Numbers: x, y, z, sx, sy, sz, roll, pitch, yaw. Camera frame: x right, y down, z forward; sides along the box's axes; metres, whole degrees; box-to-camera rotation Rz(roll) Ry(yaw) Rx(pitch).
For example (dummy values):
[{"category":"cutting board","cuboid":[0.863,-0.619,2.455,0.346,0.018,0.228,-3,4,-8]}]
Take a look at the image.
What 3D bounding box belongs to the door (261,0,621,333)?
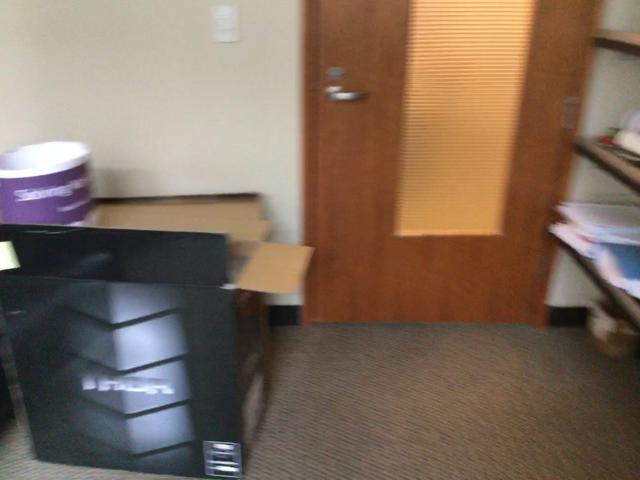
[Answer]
[{"category":"door","cuboid":[0.390,-0.760,1.940,1.160,2.430,0.110,0,24,2]}]
